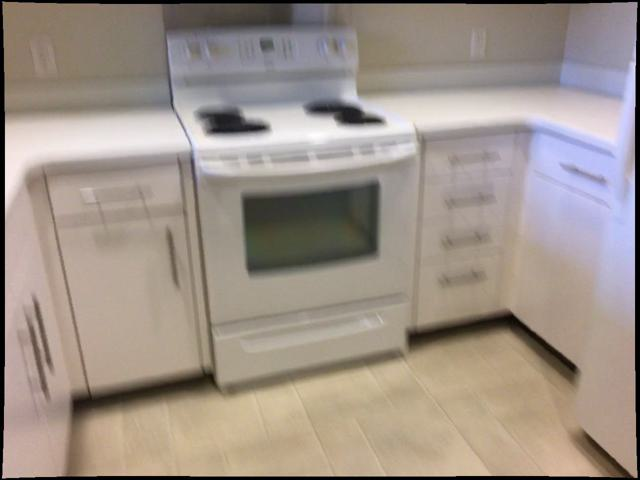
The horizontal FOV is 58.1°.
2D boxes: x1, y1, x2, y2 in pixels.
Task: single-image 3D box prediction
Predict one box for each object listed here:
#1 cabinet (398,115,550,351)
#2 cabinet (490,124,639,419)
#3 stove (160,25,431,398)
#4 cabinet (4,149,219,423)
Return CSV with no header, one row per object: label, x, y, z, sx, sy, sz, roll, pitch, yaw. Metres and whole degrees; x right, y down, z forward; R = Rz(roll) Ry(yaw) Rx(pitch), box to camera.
cabinet,0.588,-0.010,2.280,0.529,0.912,0.080,-8,26,-16
cabinet,0.898,0.090,2.100,0.120,0.882,0.620,-8,26,-16
stove,-0.130,-0.170,2.270,0.778,1.203,0.730,-8,26,-16
cabinet,-0.648,0.170,1.930,0.539,0.902,0.090,-8,26,-16
